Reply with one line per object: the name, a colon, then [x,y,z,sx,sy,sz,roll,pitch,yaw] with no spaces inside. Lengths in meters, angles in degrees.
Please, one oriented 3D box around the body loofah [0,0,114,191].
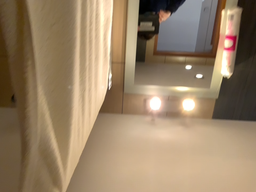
body loofah: [-0.120,-0.180,0.540,0.120,0.570,0.610,3,-159,-1]
